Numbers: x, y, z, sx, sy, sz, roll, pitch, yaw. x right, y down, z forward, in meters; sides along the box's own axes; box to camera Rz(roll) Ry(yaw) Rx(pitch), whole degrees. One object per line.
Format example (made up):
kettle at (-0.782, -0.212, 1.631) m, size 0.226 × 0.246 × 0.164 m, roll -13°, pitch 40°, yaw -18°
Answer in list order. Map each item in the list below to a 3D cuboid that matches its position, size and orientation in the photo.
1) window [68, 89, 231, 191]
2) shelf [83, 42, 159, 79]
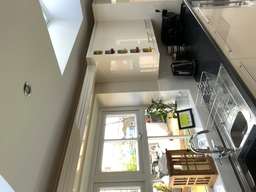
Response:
window at (0.150, 0.700, 1.770) m, size 1.910 × 1.190 × 0.280 m, roll -92°, pitch -1°, yaw -48°
shelf at (-0.070, -0.410, 2.460) m, size 0.190 × 0.810 × 0.340 m, roll -92°, pitch -1°, yaw -48°
